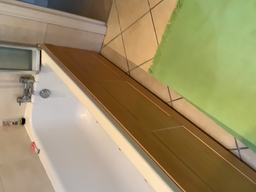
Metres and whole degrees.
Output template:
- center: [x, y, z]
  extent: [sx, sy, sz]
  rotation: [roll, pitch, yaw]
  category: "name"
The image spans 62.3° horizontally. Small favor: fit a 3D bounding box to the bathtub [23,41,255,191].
- center: [-0.110, 0.330, 1.400]
  extent: [1.690, 0.560, 0.760]
  rotation: [40, 119, 39]
  category: "bathtub"
